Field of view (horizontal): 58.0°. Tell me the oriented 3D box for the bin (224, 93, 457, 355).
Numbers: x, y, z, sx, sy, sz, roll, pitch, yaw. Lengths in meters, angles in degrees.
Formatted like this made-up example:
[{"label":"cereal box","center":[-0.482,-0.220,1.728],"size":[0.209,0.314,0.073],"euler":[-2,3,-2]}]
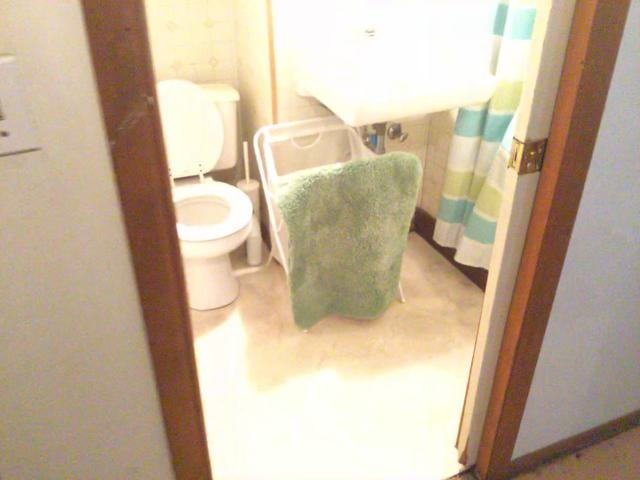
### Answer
[{"label":"bin","center":[0.050,-0.100,2.160],"size":[0.590,0.650,0.640],"euler":[-14,33,-18]}]
